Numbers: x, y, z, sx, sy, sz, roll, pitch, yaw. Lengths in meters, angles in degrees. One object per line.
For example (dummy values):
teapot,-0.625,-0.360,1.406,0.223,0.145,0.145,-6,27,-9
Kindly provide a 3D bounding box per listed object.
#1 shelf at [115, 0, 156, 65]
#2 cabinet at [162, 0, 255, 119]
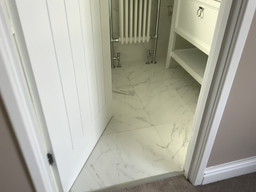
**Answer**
shelf,0.060,-0.850,2.050,0.370,1.090,0.240,-2,34,-4
cabinet,0.730,-0.440,1.770,0.510,0.770,0.960,-7,35,-11
